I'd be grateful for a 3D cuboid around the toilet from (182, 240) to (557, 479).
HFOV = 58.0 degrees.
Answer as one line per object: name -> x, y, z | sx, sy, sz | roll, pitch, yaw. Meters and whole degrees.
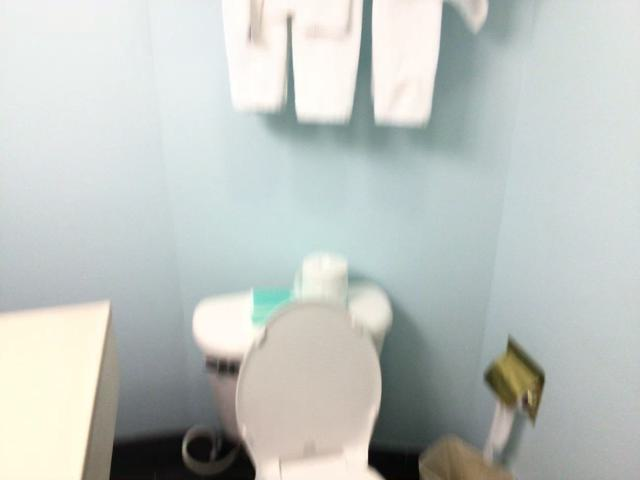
toilet -> 0.020, 0.560, 1.290 | 0.530, 0.850, 0.740 | -7, 23, -11
